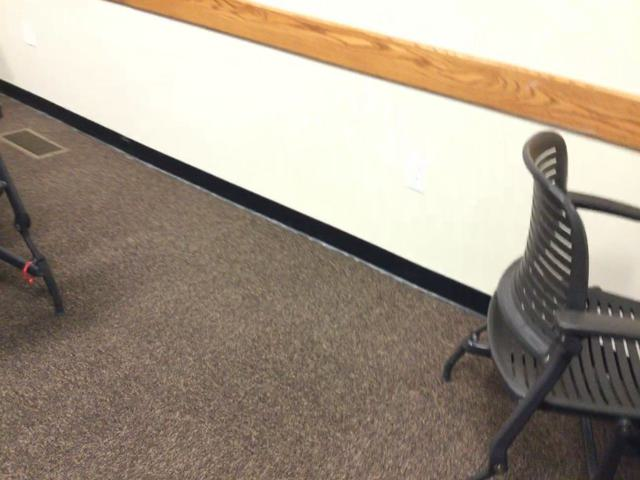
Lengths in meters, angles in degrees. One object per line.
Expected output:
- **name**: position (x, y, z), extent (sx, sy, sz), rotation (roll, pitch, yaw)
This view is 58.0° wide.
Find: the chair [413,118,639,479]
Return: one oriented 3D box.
- **chair**: position (0.600, 0.270, 1.290), extent (0.590, 0.840, 0.540), rotation (12, 30, 3)
